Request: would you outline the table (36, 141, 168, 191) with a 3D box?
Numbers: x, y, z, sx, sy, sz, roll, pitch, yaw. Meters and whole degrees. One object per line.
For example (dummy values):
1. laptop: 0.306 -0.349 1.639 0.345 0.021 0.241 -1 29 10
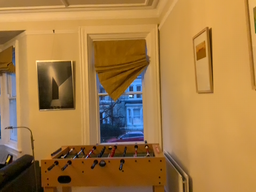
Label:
1. table: -0.270 1.060 2.580 1.390 0.850 0.650 -1 0 1
